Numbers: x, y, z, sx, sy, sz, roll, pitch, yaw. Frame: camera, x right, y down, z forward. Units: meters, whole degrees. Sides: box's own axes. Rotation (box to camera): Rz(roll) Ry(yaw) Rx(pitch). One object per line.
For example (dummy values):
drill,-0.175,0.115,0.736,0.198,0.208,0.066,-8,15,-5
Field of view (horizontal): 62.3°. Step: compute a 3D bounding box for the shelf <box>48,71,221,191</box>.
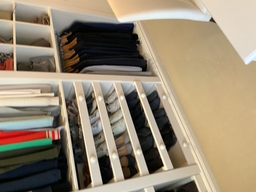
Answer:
shelf,0.070,0.780,1.820,0.640,1.170,1.970,-54,45,46
